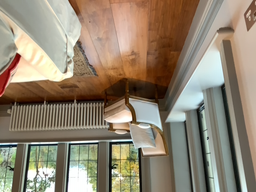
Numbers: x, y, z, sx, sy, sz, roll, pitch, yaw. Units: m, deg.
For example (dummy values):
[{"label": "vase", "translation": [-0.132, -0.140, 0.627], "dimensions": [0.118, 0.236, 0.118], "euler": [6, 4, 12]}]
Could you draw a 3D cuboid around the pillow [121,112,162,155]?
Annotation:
[{"label": "pillow", "translation": [0.180, 0.530, 2.970], "dimensions": [0.230, 0.410, 0.390], "euler": [-22, 160, -43]}]

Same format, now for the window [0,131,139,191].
[{"label": "window", "translation": [-1.120, 1.530, 3.320], "dimensions": [2.580, 1.880, 0.160], "euler": [-2, 163, 2]}]
